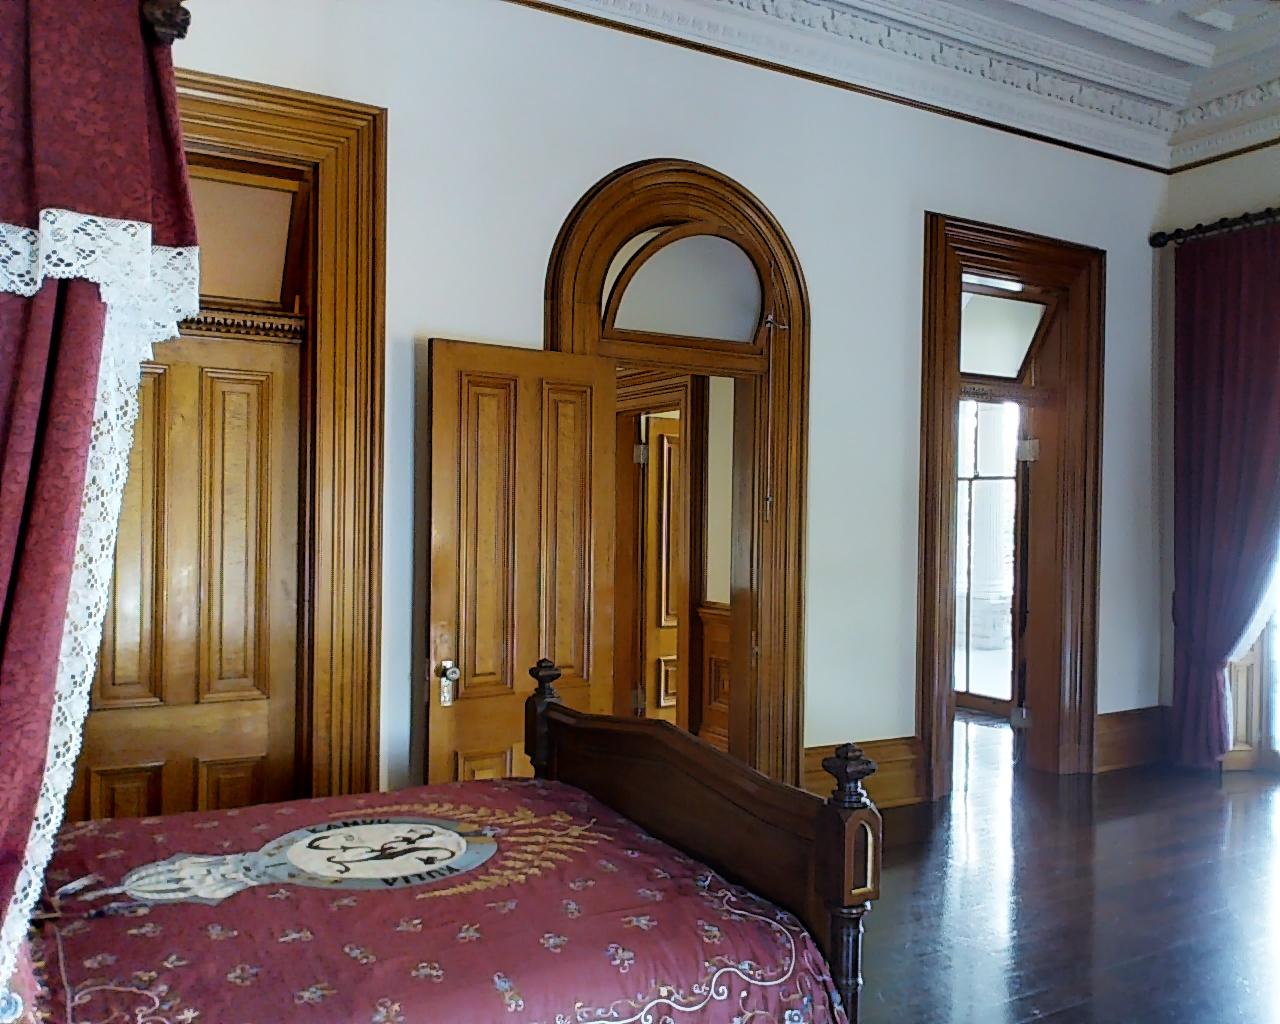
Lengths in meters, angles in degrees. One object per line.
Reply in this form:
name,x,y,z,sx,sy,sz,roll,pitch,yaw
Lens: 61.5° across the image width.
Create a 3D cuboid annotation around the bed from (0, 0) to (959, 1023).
bed,-0.850,0.040,2.530,2.320,2.940,2.000,1,0,-30
